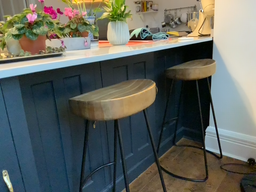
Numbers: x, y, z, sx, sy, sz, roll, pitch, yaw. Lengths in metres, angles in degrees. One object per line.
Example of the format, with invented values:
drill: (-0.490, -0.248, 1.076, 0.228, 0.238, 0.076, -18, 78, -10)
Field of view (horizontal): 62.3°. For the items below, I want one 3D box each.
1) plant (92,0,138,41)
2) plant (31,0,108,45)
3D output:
plant: (-0.080, -0.480, 1.340, 0.210, 0.240, 0.170, 11, 22, 39)
plant: (-0.330, -0.460, 1.210, 0.300, 0.310, 0.280, 11, 22, 39)
